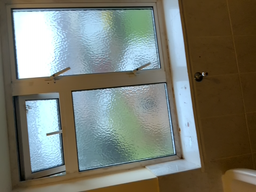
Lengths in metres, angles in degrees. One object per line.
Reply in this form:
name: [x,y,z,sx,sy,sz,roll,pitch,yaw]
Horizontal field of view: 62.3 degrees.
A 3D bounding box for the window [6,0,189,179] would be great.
window: [-0.150,-0.090,1.170,0.050,0.900,0.900,146,118,-76]
